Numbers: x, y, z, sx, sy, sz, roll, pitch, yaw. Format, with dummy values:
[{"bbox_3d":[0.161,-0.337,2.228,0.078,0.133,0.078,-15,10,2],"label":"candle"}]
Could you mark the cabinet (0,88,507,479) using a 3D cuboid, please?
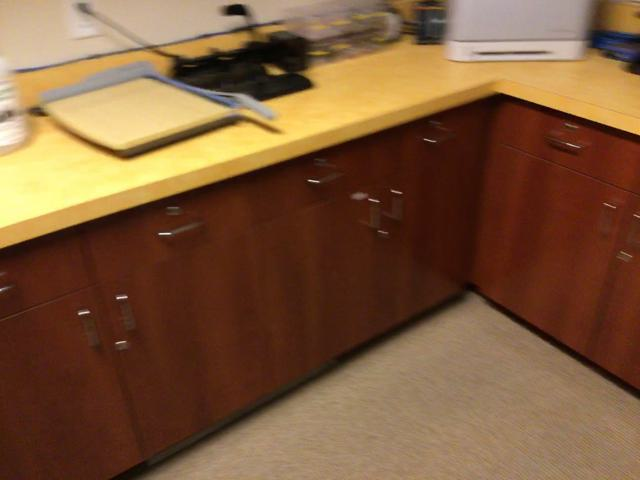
[{"bbox_3d":[-0.150,0.170,1.540,1.660,0.780,0.100,-22,35,-27],"label":"cabinet"}]
